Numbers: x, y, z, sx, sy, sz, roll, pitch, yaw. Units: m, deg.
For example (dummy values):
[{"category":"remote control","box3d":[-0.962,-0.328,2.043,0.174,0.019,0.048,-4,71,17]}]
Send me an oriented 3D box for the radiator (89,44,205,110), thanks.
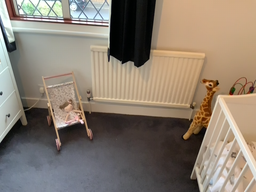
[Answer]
[{"category":"radiator","box3d":[0.140,-0.150,1.930,0.950,0.590,0.060,4,35,-1]}]
